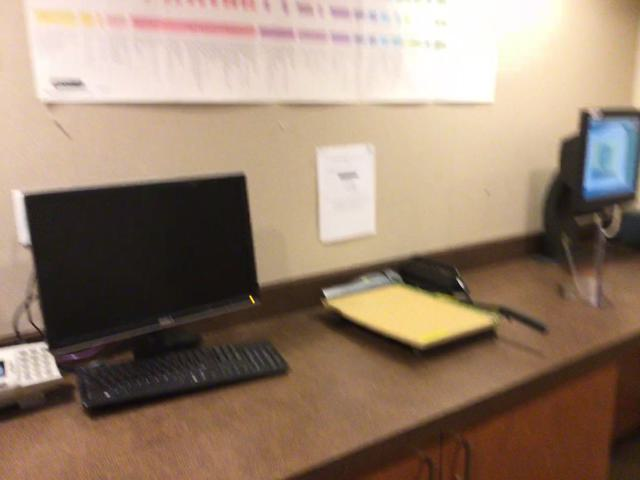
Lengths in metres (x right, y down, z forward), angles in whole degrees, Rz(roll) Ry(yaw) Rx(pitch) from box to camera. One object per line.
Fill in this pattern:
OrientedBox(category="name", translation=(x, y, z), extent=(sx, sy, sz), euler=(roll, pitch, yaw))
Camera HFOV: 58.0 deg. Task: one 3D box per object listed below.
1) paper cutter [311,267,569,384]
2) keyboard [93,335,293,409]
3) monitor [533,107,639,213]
OrientedBox(category="paper cutter", translation=(0.300, 0.200, 1.580), extent=(0.390, 0.110, 0.570), euler=(-3, 12, -36))
OrientedBox(category="keyboard", translation=(-0.280, 0.290, 1.300), extent=(0.420, 0.050, 0.120), euler=(-6, 16, -17))
OrientedBox(category="monitor", translation=(0.970, -0.280, 2.050), extent=(0.370, 0.340, 0.190), euler=(-3, 12, -36))
